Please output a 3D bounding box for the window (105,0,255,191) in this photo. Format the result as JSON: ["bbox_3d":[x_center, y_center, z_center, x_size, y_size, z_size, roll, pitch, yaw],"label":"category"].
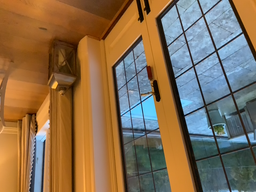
[{"bbox_3d":[0.280,0.000,1.450,0.090,2.040,1.250,12,149,-36],"label":"window"}]
